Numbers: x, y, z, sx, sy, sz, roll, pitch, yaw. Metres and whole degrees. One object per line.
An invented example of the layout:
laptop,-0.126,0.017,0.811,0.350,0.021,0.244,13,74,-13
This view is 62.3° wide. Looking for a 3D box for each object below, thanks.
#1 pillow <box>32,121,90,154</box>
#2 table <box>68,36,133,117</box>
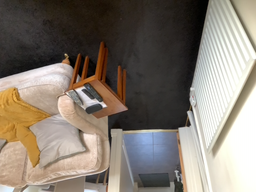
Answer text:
pillow,-0.650,0.400,2.060,0.530,0.290,0.150,-4,165,22
table,-0.210,-0.160,1.910,0.340,0.460,0.470,-16,140,21
